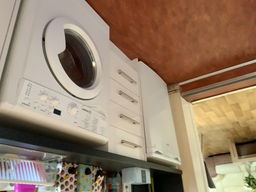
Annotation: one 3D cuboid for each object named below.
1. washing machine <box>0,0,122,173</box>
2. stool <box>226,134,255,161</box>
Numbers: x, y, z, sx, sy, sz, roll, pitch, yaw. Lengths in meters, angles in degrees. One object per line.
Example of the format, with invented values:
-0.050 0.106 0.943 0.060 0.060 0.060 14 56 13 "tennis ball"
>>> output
-0.500 -0.110 1.190 0.670 0.920 0.620 -17 151 27 "washing machine"
2.360 1.070 4.310 0.520 0.390 0.530 -17 151 27 "stool"
